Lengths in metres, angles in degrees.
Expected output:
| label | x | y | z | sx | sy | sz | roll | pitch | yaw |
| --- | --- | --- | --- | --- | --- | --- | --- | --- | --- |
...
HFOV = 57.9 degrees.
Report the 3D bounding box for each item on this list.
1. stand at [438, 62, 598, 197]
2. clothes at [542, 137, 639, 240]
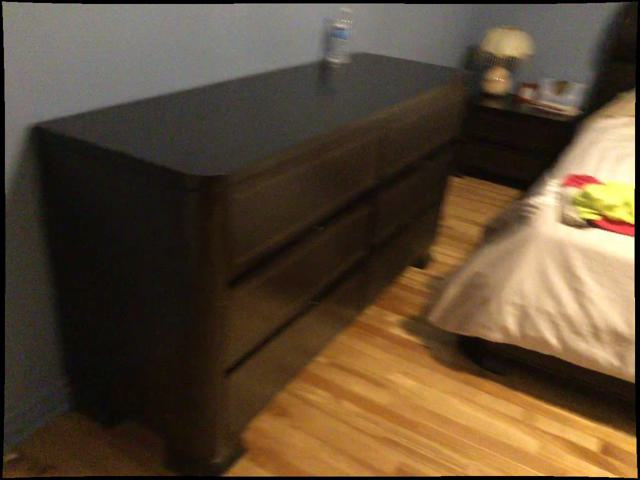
| label | x | y | z | sx | sy | sz | roll | pitch | yaw |
| --- | --- | --- | --- | --- | --- | --- | --- | --- | --- |
| stand | 1.159 | -0.681 | 3.410 | 0.670 | 0.530 | 0.550 | 21 | 34 | 27 |
| clothes | 0.969 | -0.150 | 1.760 | 0.440 | 0.120 | 0.430 | 21 | 34 | 27 |
